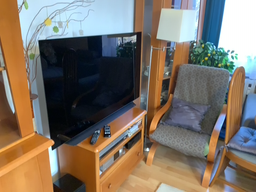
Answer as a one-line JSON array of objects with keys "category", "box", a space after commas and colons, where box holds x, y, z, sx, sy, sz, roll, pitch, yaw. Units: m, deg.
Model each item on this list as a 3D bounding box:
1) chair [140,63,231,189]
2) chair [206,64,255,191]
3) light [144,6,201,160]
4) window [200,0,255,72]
[{"category": "chair", "box": [0.620, 0.230, 2.270, 0.670, 0.980, 0.780, 12, 22, 25]}, {"category": "chair", "box": [1.100, 0.340, 1.770, 0.510, 1.080, 0.540, 20, 27, 40]}, {"category": "light", "box": [0.490, -0.140, 2.400, 0.350, 1.580, 0.540, 11, 22, 24]}, {"category": "window", "box": [1.460, -1.070, 2.490, 0.940, 1.520, 0.150, 11, 22, 23]}]
